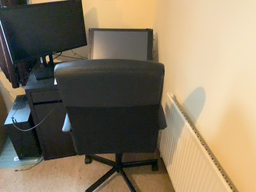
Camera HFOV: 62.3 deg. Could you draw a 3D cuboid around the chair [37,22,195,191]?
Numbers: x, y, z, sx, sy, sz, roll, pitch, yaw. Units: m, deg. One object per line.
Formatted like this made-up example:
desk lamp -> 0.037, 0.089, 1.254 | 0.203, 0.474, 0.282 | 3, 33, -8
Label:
chair -> -0.060, 0.160, 1.540 | 0.670, 1.170, 0.800 | 0, 31, -1
